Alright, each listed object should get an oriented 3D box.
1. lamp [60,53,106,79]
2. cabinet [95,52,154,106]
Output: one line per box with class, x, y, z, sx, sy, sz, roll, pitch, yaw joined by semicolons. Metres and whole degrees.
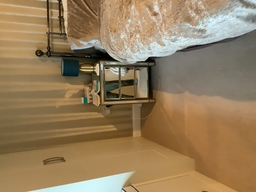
lamp;-0.490;-0.310;2.280;0.340;0.410;0.230;-178;86;-67
cabinet;-0.050;-0.190;2.470;0.390;0.570;0.560;-177;85;-66
